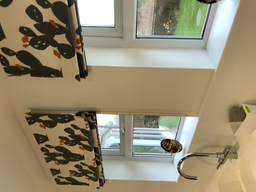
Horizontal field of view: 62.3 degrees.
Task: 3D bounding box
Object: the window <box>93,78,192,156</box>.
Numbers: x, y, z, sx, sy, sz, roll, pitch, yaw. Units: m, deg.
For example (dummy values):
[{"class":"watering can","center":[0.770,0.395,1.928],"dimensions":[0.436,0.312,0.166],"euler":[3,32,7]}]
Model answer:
[{"class":"window","center":[0.100,0.240,1.910],"dimensions":[0.950,0.710,0.120],"euler":[91,180,-46]}]
